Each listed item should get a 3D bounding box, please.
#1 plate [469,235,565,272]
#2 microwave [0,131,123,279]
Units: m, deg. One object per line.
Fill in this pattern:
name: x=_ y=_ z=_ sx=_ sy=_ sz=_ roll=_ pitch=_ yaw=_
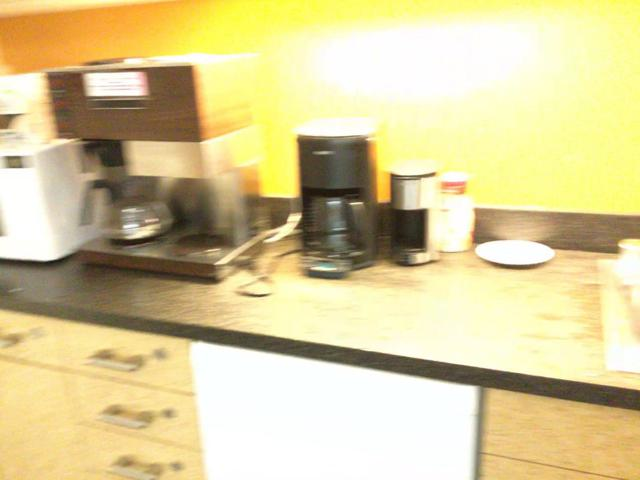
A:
plate: x=0.480 y=0.030 z=1.410 sx=0.210 sy=0.020 sz=0.140 roll=5 pitch=24 yaw=19
microwave: x=-0.920 y=-0.120 z=1.670 sx=0.600 sy=0.340 sz=0.230 roll=5 pitch=24 yaw=19
